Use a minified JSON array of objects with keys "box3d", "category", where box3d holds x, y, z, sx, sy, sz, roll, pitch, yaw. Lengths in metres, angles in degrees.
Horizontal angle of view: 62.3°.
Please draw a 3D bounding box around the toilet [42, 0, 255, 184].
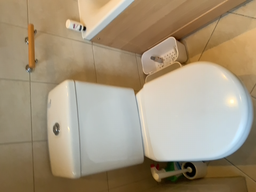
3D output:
[{"box3d":[0.150,0.070,0.900,0.660,0.760,0.400,-22,71,45],"category":"toilet"}]
